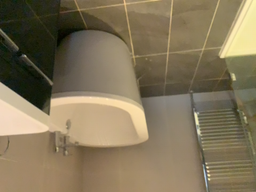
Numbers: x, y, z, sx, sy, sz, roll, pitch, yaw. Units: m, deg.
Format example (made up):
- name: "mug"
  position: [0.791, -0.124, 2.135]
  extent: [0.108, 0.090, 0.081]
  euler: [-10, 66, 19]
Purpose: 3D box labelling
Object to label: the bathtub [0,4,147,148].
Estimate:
- name: "bathtub"
  position: [-0.270, 0.030, 2.000]
  extent: [0.790, 0.630, 1.570]
  euler: [-5, 157, 6]
